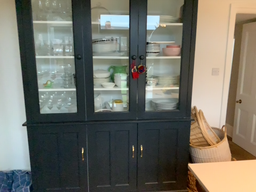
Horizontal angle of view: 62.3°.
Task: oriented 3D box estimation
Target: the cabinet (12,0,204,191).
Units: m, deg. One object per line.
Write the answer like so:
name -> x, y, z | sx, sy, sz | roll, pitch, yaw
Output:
cabinet -> -0.160, -0.170, 2.180 | 1.640, 2.460, 0.450 | -1, 12, -7
